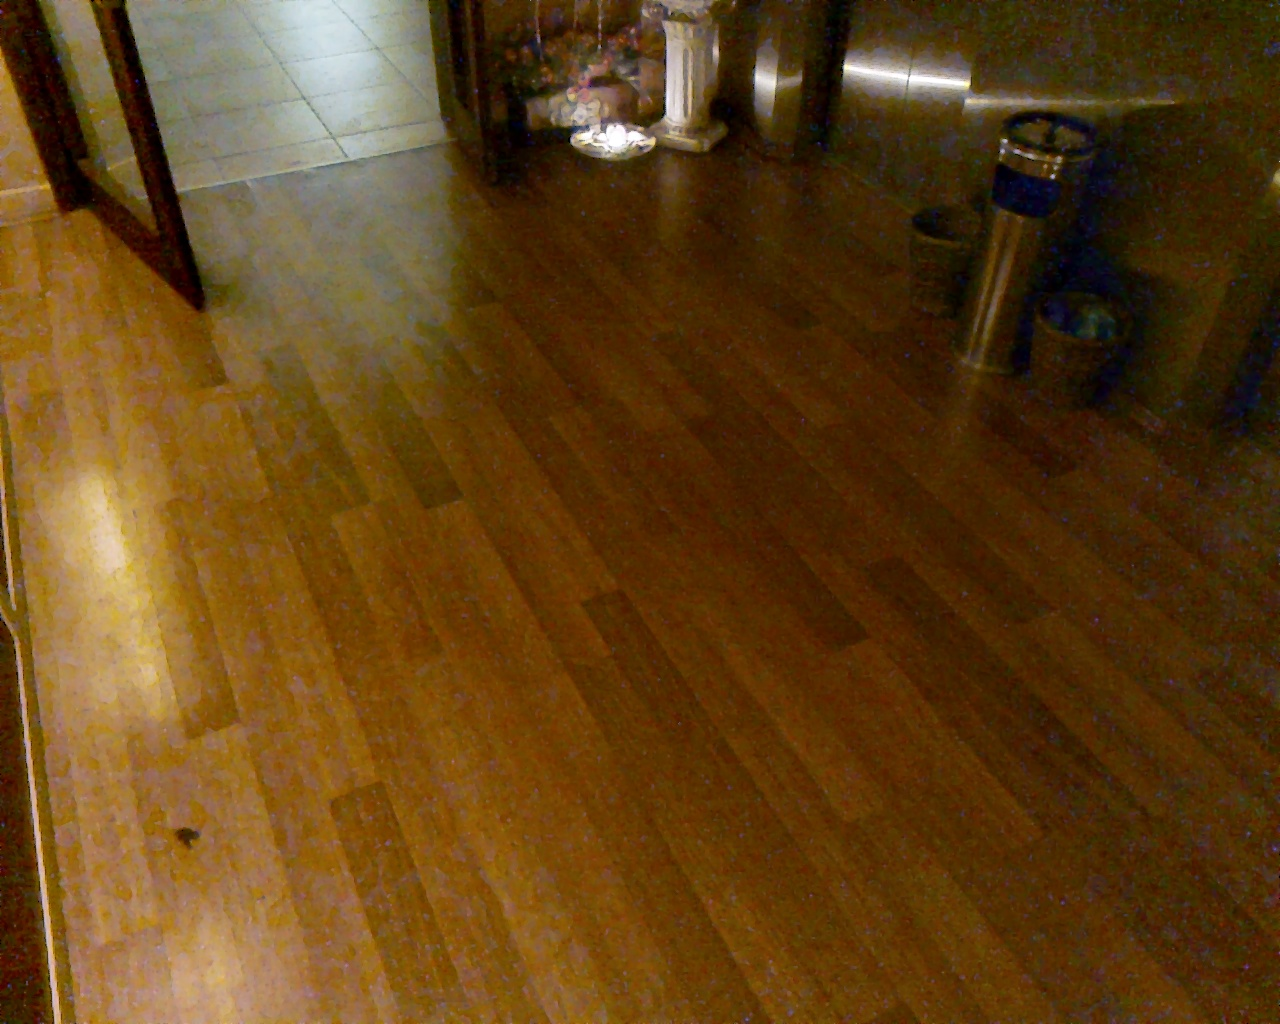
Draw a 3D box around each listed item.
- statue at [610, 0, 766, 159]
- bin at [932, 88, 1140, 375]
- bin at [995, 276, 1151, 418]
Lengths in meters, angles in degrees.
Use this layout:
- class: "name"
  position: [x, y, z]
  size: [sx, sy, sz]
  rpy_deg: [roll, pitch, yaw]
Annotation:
- class: "statue"
  position: [0.160, -1.790, 3.640]
  size: [0.410, 1.020, 0.360]
  rpy_deg: [-18, 45, -20]
- class: "bin"
  position: [0.980, -0.700, 2.730]
  size: [0.250, 0.620, 0.250]
  rpy_deg: [-18, 45, -20]
- class: "bin"
  position: [1.090, -0.420, 2.730]
  size: [0.230, 0.230, 0.220]
  rpy_deg: [-18, 45, -20]
